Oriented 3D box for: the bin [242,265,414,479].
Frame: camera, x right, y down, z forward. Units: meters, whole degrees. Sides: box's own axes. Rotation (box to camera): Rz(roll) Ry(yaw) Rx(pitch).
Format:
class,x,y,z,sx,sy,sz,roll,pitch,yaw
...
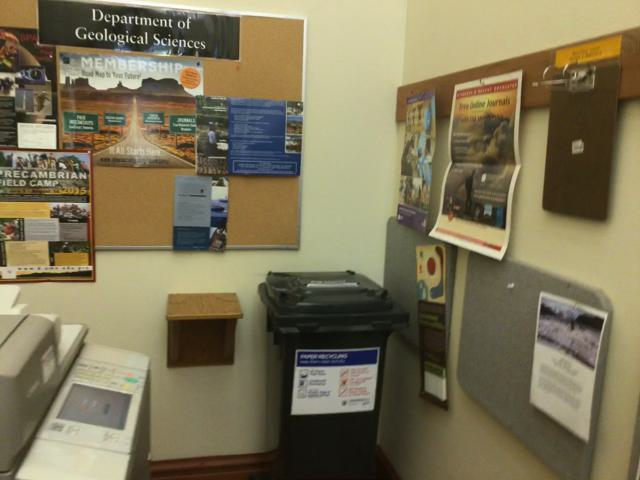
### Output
class,x,y,z,sx,sy,sz,roll,pitch,yaw
bin,-0.010,0.650,2.160,0.470,1.030,0.490,2,8,-15
